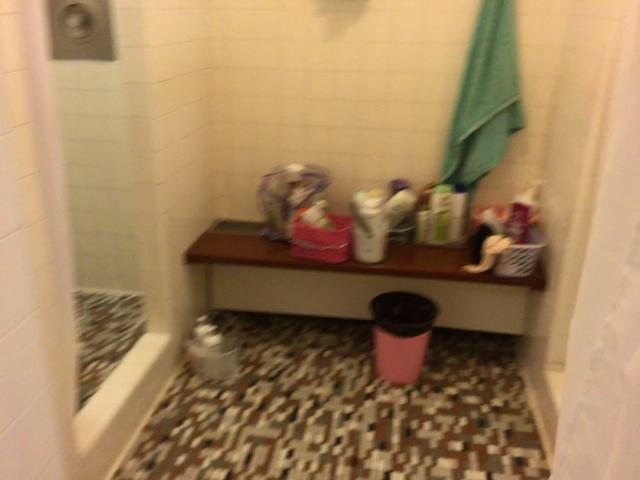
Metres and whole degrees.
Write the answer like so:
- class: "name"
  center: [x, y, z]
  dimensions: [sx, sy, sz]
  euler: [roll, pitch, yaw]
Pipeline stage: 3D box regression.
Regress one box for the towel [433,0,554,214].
- class: "towel"
  center: [0.630, -0.620, 2.110]
  dimensions: [0.320, 1.030, 0.140]
  euler: [5, 20, 7]
